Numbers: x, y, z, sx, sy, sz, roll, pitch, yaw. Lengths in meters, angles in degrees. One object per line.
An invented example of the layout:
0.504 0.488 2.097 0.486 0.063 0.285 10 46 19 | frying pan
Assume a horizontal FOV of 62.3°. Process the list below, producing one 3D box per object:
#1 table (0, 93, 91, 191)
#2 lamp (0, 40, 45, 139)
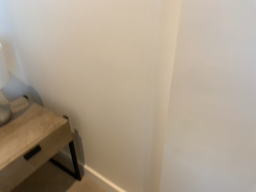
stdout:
-0.580 0.390 1.210 0.450 0.530 0.500 21 40 28 | table
-0.640 -0.030 1.010 0.240 0.350 0.310 21 40 28 | lamp
